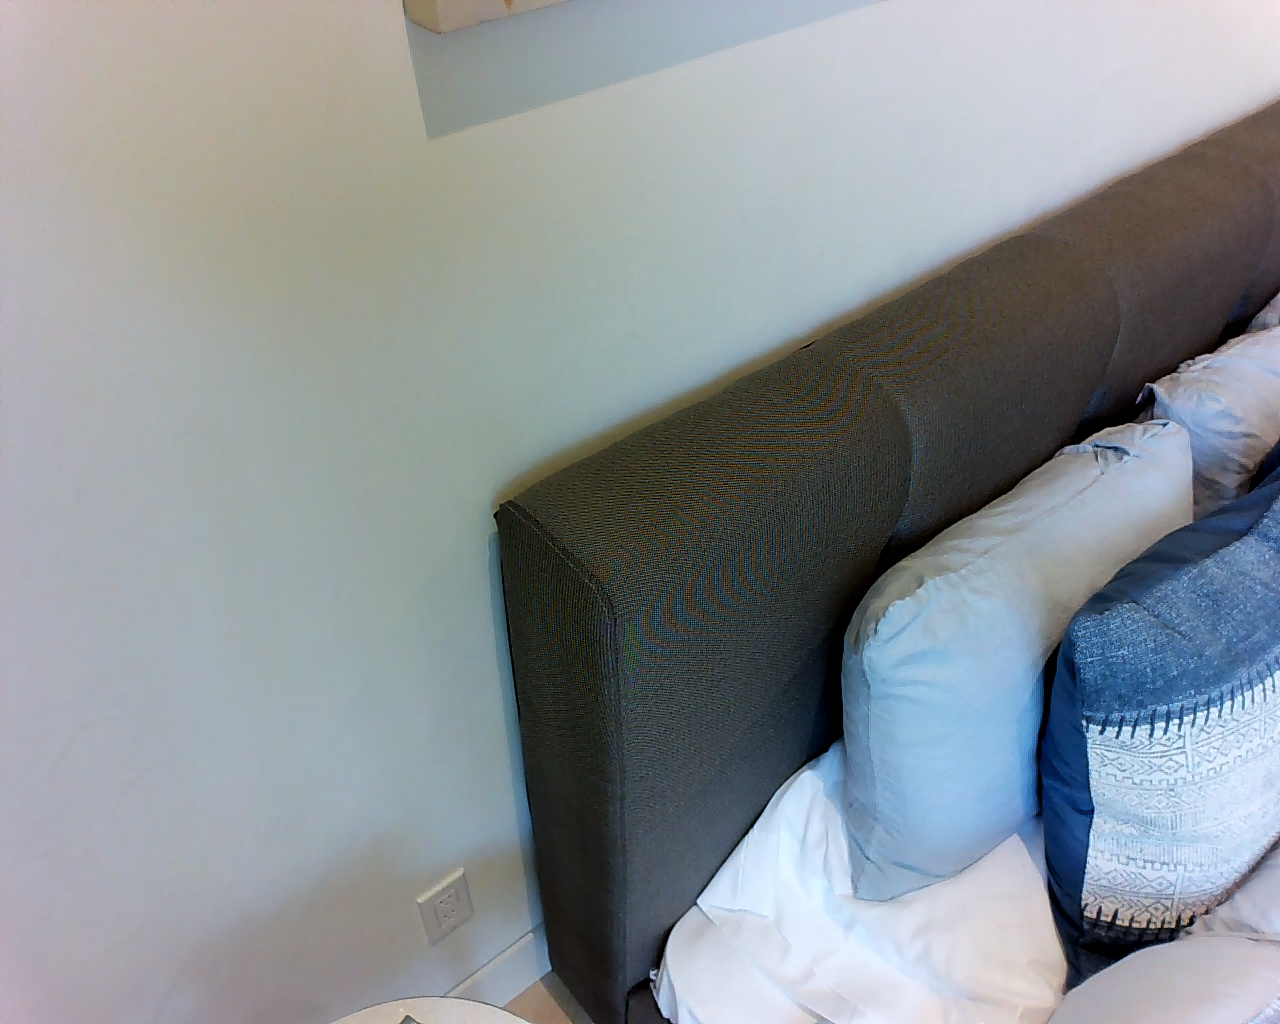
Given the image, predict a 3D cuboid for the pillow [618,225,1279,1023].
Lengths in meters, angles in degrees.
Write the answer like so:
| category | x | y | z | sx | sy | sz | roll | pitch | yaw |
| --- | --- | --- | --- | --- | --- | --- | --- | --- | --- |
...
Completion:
| category | x | y | z | sx | sy | sz | roll | pitch | yaw |
| --- | --- | --- | --- | --- | --- | --- | --- | --- | --- |
| pillow | 0.930 | 0.210 | 1.190 | 1.610 | 0.480 | 1.030 | -30 | 49 | -28 |
